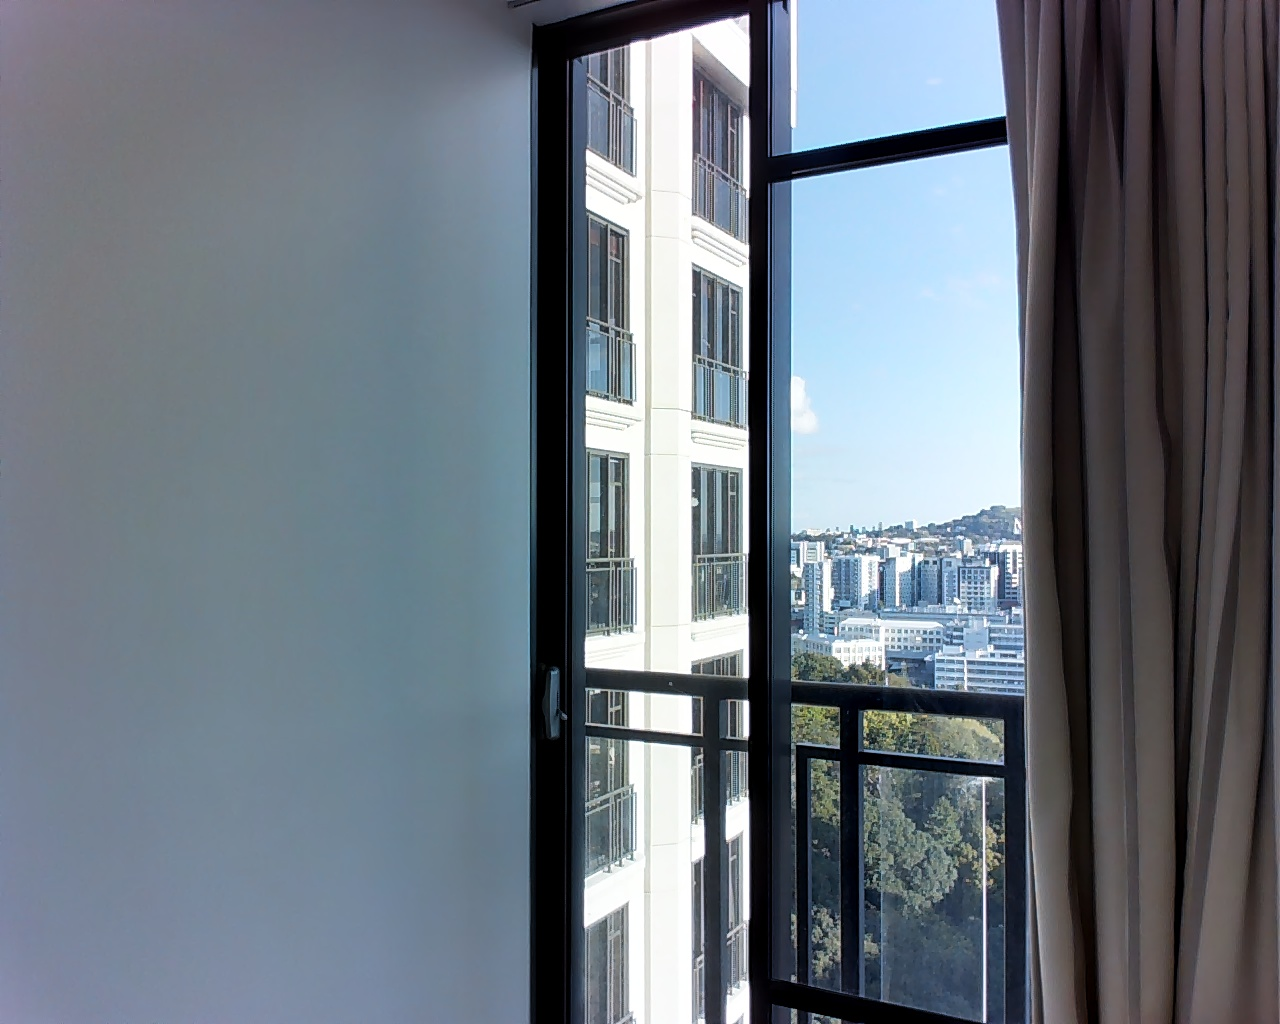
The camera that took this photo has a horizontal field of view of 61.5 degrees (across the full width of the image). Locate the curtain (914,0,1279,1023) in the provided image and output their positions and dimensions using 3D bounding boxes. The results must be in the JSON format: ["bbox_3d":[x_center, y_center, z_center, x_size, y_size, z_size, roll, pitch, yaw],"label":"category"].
[{"bbox_3d":[0.860,0.010,1.790,0.560,2.521,0.380,6,3,28],"label":"curtain"}]
